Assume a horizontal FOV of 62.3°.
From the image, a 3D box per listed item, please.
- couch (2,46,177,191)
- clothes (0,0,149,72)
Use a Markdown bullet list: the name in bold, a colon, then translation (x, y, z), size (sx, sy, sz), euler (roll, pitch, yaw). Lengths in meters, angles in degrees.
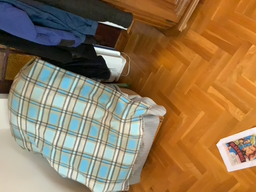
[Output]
- **couch**: translation (-0.390, 0.230, 1.840), size (0.900, 1.010, 0.890), euler (42, 120, 40)
- **clothes**: translation (-0.650, -0.470, 1.260), size (0.780, 1.340, 0.370), euler (28, 111, 45)
